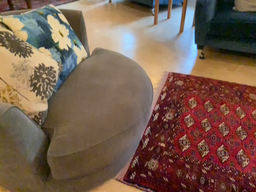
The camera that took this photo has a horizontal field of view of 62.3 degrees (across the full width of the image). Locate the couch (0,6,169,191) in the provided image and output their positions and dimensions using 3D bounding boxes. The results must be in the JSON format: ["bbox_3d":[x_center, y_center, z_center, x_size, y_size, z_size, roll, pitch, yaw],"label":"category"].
[{"bbox_3d":[-0.420,0.050,1.190,1.080,0.790,0.890,-1,38,0],"label":"couch"}]
